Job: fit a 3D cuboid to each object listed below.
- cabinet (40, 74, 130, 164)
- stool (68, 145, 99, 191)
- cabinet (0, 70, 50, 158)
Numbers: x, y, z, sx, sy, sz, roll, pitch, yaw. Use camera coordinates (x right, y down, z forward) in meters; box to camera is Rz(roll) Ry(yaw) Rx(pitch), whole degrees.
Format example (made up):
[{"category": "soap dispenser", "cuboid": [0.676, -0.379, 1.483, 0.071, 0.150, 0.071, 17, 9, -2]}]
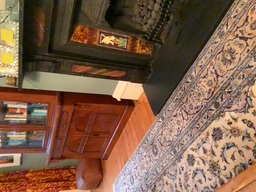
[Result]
[{"category": "cabinet", "cuboid": [-0.630, 0.360, 2.790, 0.450, 0.870, 1.210, -109, 33, -41]}, {"category": "stool", "cuboid": [-0.770, 1.210, 3.560, 0.570, 0.350, 0.550, 118, 147, -41]}, {"category": "cabinet", "cuboid": [-1.550, 0.250, 2.390, 0.370, 1.140, 1.140, -109, 33, -41]}]
